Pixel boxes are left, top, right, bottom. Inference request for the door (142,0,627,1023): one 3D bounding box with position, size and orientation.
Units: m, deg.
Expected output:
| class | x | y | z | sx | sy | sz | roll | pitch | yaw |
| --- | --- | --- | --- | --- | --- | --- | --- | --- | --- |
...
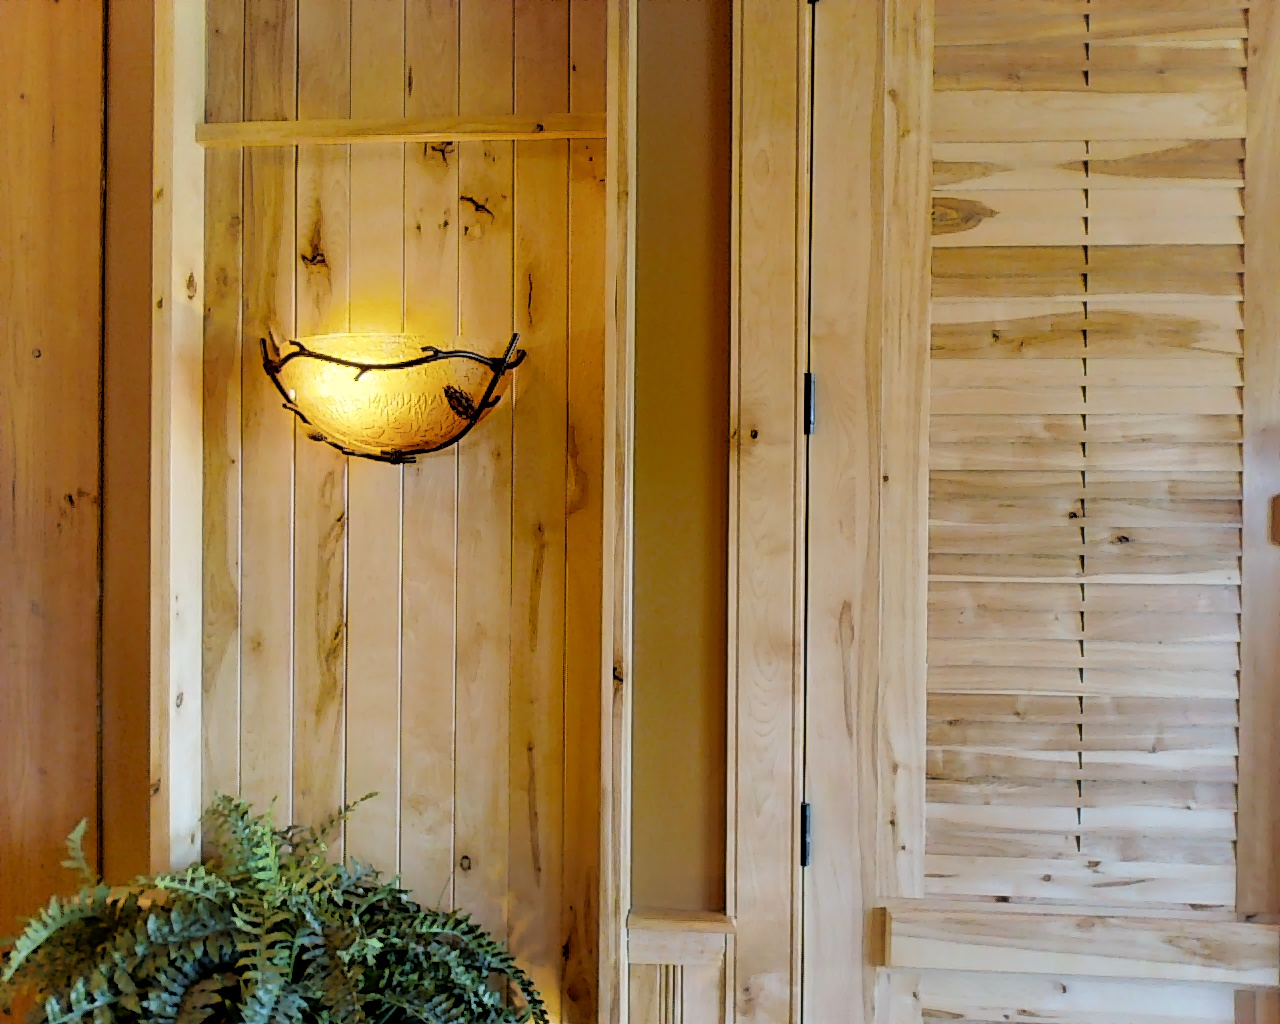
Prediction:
| class | x | y | z | sx | sy | sz | roll | pitch | yaw |
| --- | --- | --- | --- | --- | --- | --- | --- | --- | --- |
| door | -0.430 | -0.020 | 1.830 | 0.790 | 1.880 | 0.140 | 1 | 0 | 6 |
